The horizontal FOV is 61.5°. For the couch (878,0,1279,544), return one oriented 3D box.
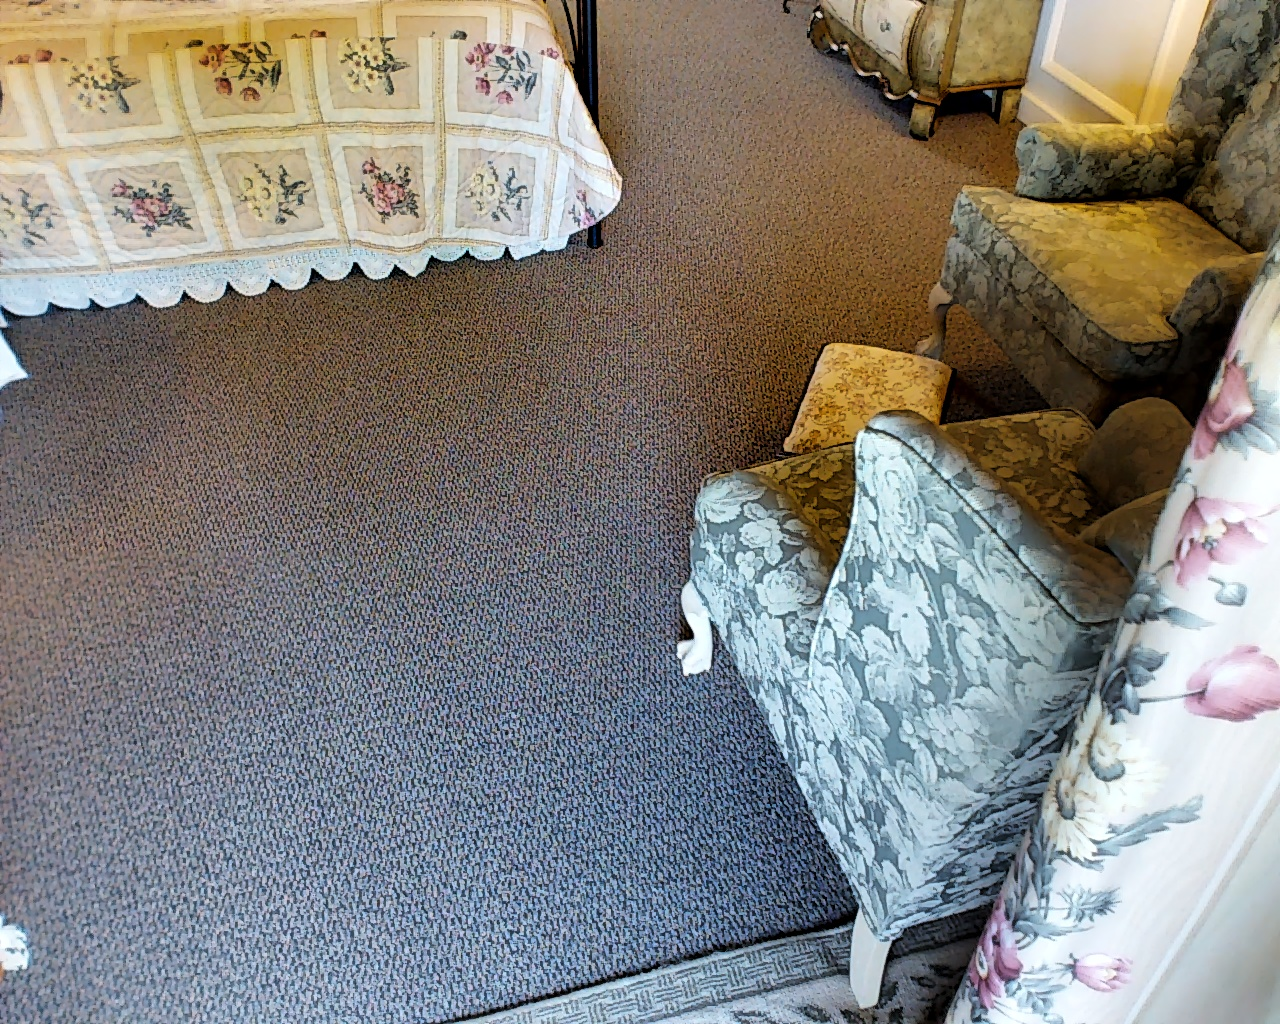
[{"bbox_3d":[1.170,-0.660,2.260,0.890,1.020,0.870,-8,43,-11],"label":"couch"}]

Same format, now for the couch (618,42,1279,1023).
[{"bbox_3d":[0.510,0.080,1.460,0.850,1.010,0.950,-10,44,-13],"label":"couch"}]
